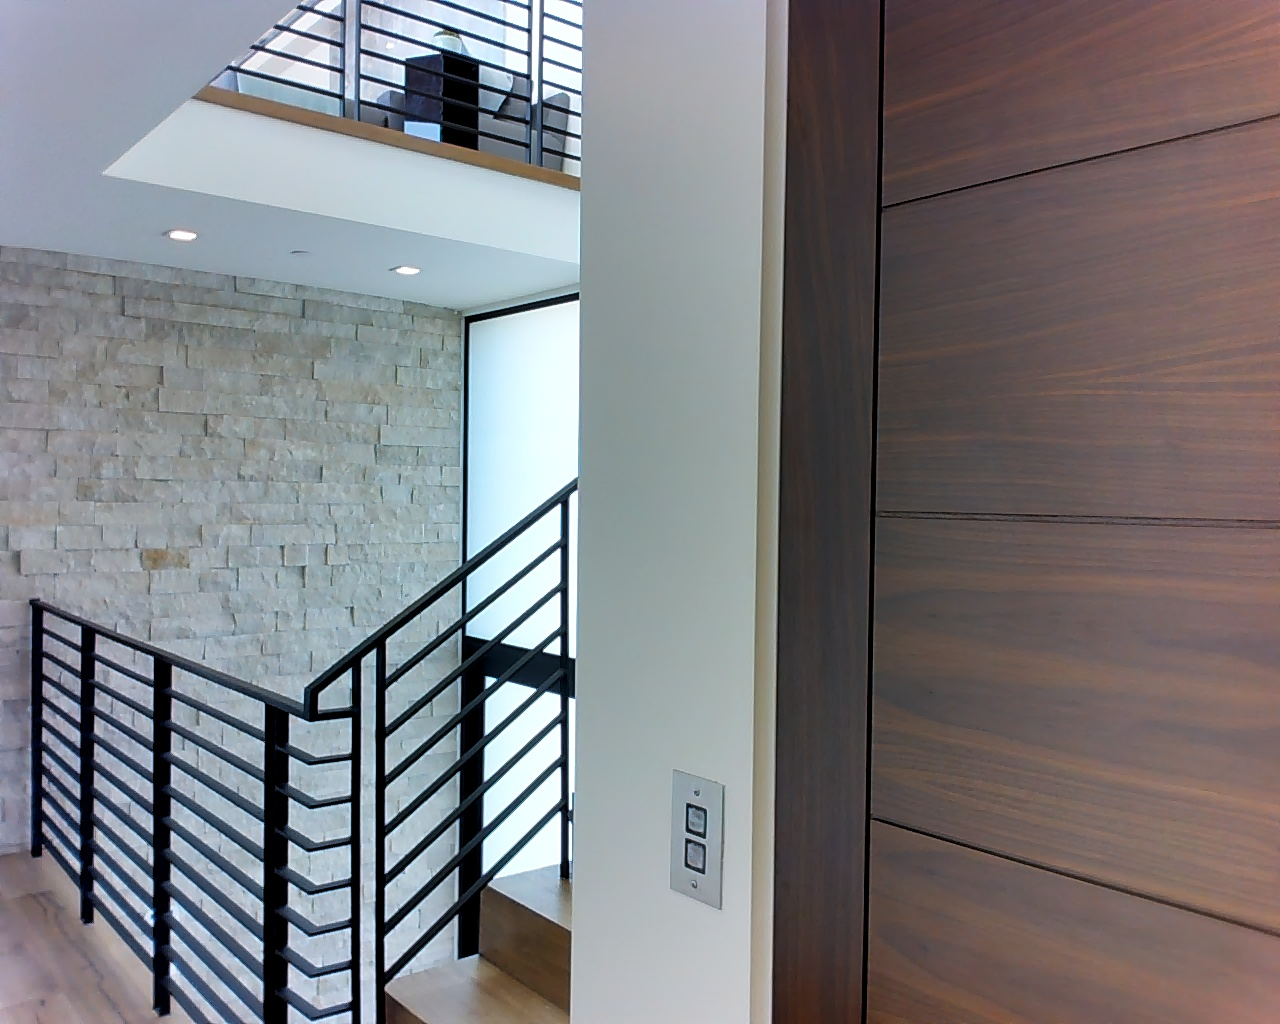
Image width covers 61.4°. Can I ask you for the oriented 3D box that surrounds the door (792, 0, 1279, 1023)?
[{"bbox_3d":[0.450,0.480,0.840,0.020,2.100,0.860,0,1,-40],"label":"door"}]
